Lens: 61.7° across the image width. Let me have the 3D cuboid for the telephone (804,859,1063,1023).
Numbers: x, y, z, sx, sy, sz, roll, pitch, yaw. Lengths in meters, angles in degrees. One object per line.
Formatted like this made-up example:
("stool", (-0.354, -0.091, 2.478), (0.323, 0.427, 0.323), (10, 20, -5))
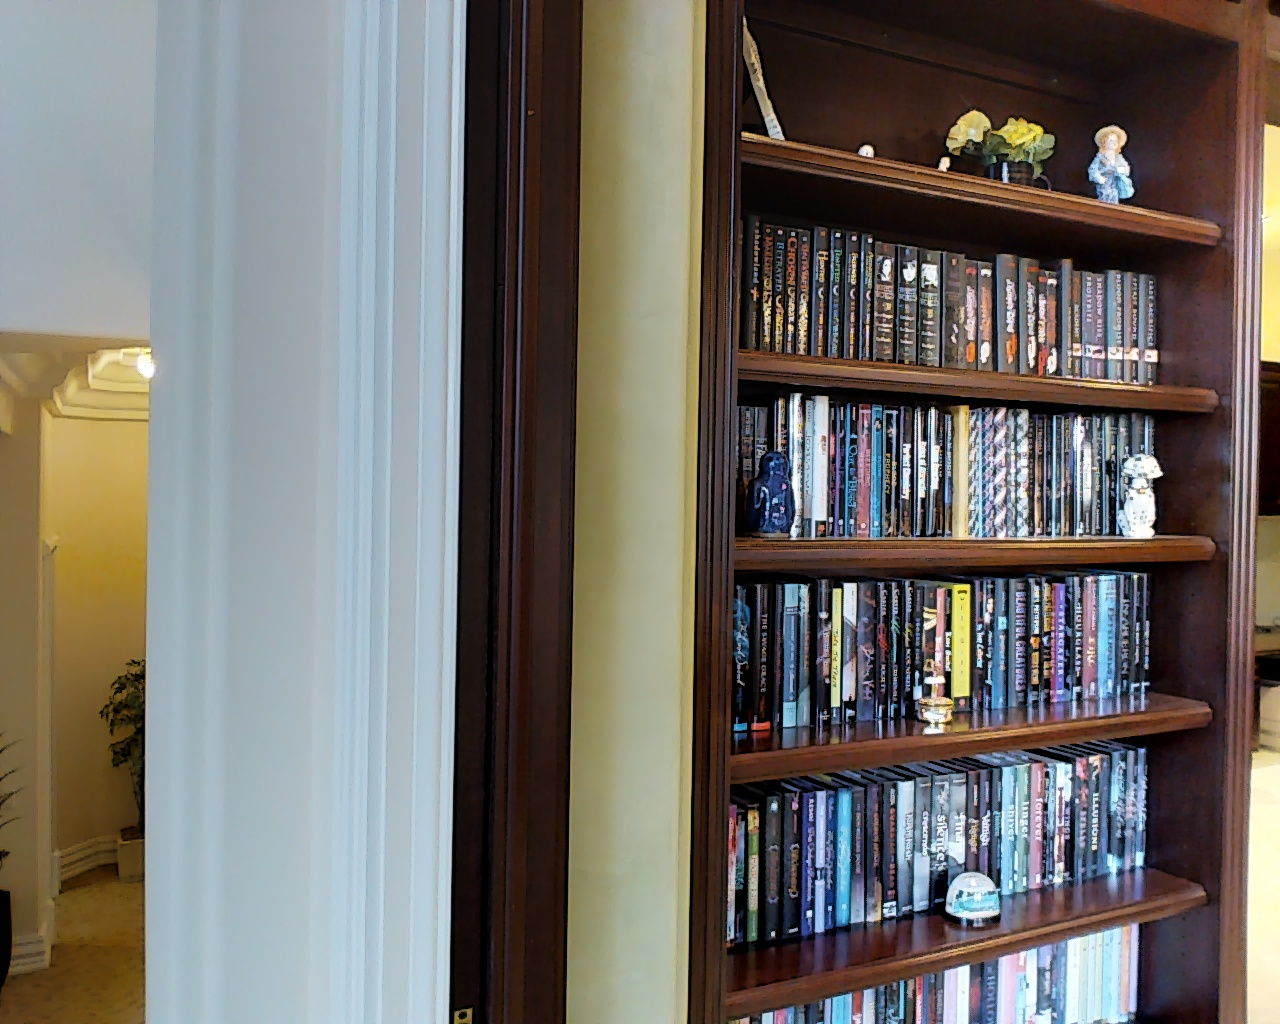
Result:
("telephone", (0.420, 0.650, 1.570), (0.210, 0.160, 0.310), (0, 0, -28))
